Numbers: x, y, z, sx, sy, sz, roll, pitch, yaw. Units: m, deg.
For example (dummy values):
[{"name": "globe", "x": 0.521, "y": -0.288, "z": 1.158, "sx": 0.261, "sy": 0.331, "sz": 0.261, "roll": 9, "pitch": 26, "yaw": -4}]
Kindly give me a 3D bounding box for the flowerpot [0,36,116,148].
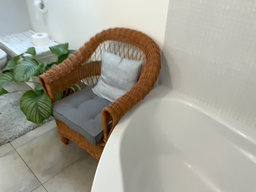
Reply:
[{"name": "flowerpot", "x": -0.690, "y": -0.120, "z": 2.060, "sx": 0.630, "sy": 0.550, "sz": 0.980, "roll": 30, "pitch": 43, "yaw": 33}]
